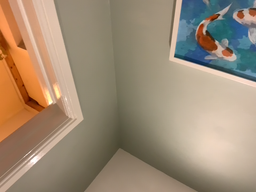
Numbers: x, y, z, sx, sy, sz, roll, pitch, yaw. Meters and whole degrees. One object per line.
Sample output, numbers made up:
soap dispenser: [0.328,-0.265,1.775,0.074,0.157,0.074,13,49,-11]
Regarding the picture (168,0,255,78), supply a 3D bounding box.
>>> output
picture: [0.350,-0.270,0.670,0.430,0.420,0.020,24,-132,24]
